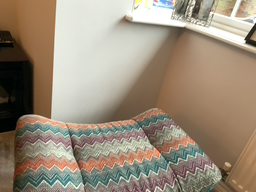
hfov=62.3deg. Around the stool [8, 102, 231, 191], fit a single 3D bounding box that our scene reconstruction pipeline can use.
[{"bbox_3d":[-0.080,0.330,0.860,0.680,0.420,0.460,-1,31,-26],"label":"stool"}]
